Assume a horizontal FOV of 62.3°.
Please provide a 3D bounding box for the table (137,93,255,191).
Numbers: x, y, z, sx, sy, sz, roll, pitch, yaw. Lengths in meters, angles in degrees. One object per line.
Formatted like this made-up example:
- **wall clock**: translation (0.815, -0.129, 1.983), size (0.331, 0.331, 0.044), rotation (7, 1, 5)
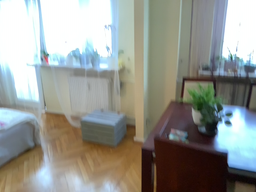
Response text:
- **table**: translation (0.900, 0.570, 1.630), size (1.380, 0.770, 1.040), rotation (7, 20, 22)

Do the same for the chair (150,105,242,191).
- **chair**: translation (0.410, 0.600, 1.310), size (0.370, 0.920, 0.520), rotation (10, 21, 28)
